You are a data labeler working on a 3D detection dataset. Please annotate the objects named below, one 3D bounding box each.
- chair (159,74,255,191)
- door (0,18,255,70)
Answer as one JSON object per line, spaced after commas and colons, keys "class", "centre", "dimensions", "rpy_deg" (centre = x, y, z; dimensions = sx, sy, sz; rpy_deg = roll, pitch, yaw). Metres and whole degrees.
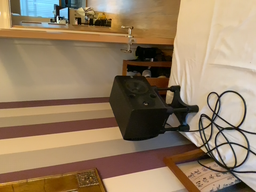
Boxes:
{"class": "chair", "centre": [0.730, 0.190, 1.120], "dimensions": [0.460, 0.960, 0.510], "rpy_deg": [-139, 50, -60]}
{"class": "door", "centre": [-0.080, -0.430, 1.720], "dimensions": [0.970, 1.990, 0.180], "rpy_deg": [-135, 46, -58]}
